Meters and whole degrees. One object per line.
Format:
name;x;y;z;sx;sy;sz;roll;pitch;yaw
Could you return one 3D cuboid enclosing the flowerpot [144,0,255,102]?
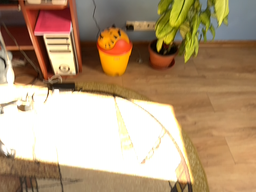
flowerpot;0.500;-0.460;1.530;0.600;0.860;0.590;1;51;-5
